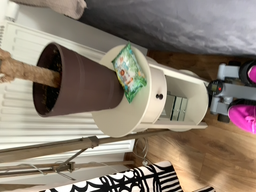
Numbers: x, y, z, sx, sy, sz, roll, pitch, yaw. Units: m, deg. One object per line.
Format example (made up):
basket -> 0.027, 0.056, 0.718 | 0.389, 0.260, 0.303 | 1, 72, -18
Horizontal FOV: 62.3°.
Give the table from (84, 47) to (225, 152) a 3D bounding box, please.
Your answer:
table -> 0.160, 0.020, 1.120 | 0.370, 0.600, 0.380 | 18, 97, 45
